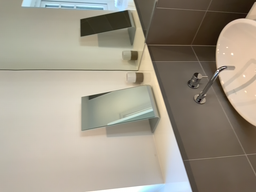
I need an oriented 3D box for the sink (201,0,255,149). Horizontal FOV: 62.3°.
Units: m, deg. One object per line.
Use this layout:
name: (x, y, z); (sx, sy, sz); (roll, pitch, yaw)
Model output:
sink: (0.570, -0.120, 1.000); (0.370, 0.100, 0.610); (102, 162, -49)
